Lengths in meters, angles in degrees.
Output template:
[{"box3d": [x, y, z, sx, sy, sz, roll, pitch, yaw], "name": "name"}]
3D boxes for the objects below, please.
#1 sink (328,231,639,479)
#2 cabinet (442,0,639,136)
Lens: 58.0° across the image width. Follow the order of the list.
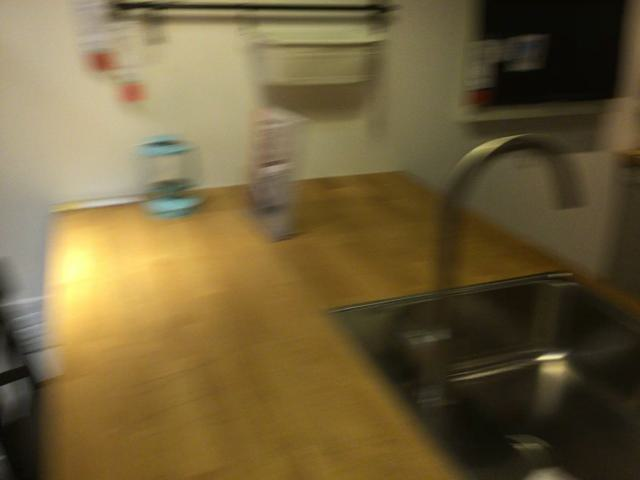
[{"box3d": [0.330, 0.240, 0.950, 0.480, 0.320, 0.510, -6, 22, -18], "name": "sink"}, {"box3d": [0.770, -0.970, 1.690, 0.700, 1.280, 0.160, -6, 22, -18], "name": "cabinet"}]
